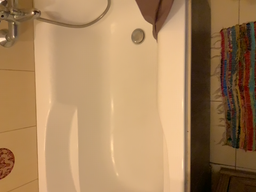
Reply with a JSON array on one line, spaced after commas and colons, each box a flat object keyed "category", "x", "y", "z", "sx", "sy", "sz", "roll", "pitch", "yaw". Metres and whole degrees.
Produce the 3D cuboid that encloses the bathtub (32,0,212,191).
[{"category": "bathtub", "x": 0.010, "y": 0.120, "z": 1.050, "sx": 0.670, "sy": 0.570, "sz": 1.370, "roll": 1, "pitch": 94, "yaw": 29}]
